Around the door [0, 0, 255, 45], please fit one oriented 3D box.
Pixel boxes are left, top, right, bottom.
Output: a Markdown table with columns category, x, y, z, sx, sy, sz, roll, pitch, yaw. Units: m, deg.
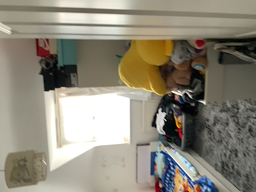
| category | x | y | z | sx | sy | sz | roll | pitch | yaw |
| --- | --- | --- | --- | --- | --- | --- | --- | --- | --- |
| door | 0.490 | -0.220 | 0.600 | 0.890 | 1.960 | 0.050 | -147 | 56 | -76 |
